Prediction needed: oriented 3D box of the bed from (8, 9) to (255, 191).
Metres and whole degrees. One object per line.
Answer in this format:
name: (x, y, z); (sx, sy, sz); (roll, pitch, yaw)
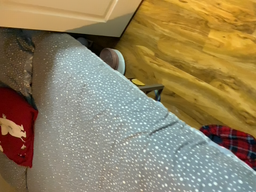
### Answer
bed: (-0.160, 0.520, 1.390); (2.000, 0.620, 1.510); (39, 124, 37)
